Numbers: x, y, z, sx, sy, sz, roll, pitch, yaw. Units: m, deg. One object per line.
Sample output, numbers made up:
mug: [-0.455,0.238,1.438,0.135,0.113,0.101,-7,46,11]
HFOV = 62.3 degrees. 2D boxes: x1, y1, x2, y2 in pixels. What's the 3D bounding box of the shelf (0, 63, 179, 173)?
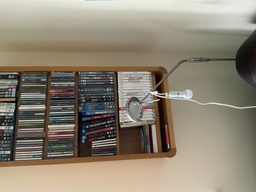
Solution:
shelf: [-0.270,0.100,1.140,0.150,1.020,0.530,120,148,-74]
